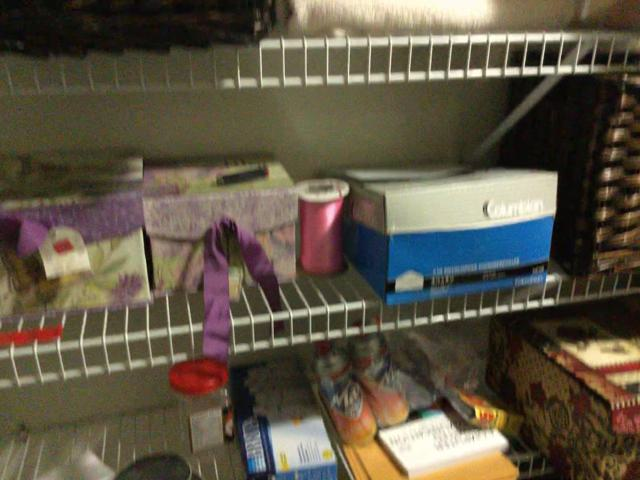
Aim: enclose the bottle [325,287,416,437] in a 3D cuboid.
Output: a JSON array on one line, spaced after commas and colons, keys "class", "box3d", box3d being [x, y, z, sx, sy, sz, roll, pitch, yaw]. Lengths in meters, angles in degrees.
[{"class": "bottle", "box3d": [0.080, 0.200, 0.940, 0.140, 0.240, 0.030, -6, 21, -13]}]
